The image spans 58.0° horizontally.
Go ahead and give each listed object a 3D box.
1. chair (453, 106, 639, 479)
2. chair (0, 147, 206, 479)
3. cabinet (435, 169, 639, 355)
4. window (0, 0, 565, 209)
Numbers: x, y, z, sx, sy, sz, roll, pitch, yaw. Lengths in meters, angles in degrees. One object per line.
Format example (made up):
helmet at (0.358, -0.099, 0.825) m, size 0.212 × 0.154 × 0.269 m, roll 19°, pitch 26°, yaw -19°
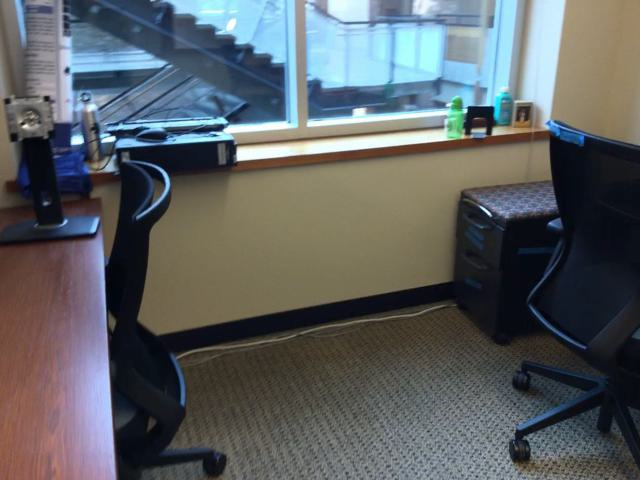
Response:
chair at (0.910, 0.170, 1.700) m, size 0.670 × 1.000 × 0.700 m, roll -7°, pitch 21°, yaw -18°
chair at (-0.630, 0.280, 1.550) m, size 0.500 × 0.900 × 0.720 m, roll -7°, pitch 21°, yaw -18°
cabinet at (0.990, 0.060, 2.550) m, size 0.780 × 0.600 × 0.470 m, roll -7°, pitch 21°, yaw -18°
window at (-0.080, -1.150, 2.170) m, size 2.170 × 1.810 × 0.440 m, roll -7°, pitch 21°, yaw -18°
